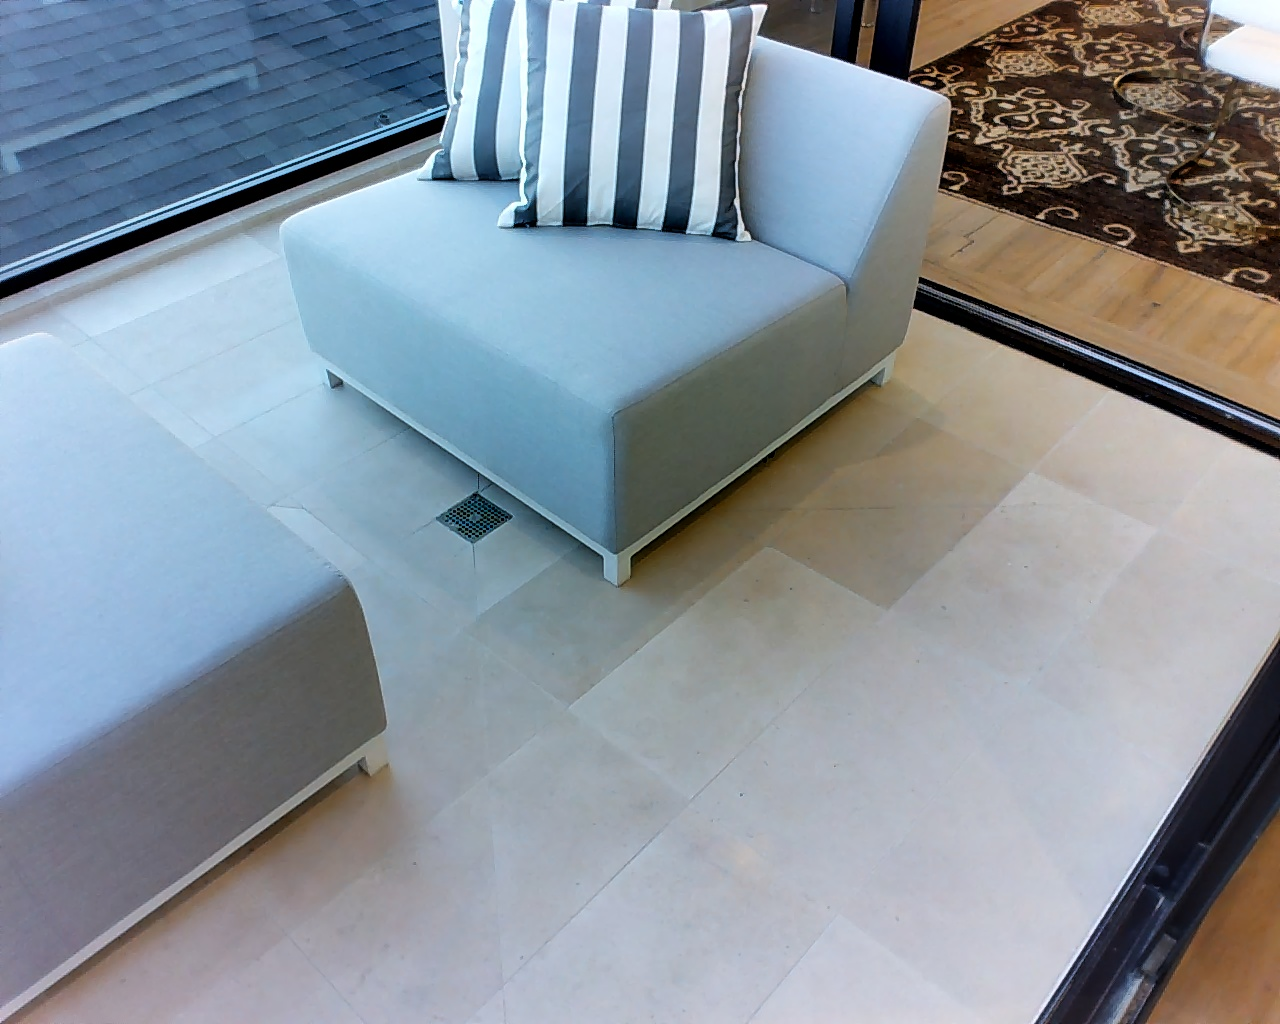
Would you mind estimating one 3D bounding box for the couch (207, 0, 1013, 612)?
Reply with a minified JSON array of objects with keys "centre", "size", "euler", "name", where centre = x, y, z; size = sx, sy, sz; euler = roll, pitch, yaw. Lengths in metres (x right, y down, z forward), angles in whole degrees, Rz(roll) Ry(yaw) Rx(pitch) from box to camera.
[{"centre":[-0.060,-0.690,2.530],"size":[1.210,0.910,1.150],"euler":[32,51,30],"name":"couch"}]
